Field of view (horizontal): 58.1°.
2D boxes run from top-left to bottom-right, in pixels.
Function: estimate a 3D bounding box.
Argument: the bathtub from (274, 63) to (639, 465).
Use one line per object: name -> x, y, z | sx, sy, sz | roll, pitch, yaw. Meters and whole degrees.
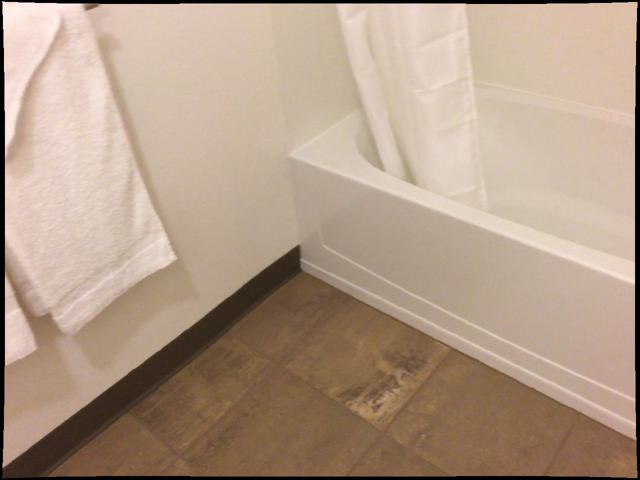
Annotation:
bathtub -> 0.698, 0.010, 1.600 | 1.508, 0.471, 0.760 | 26, 47, 33
